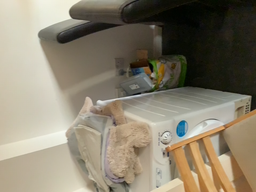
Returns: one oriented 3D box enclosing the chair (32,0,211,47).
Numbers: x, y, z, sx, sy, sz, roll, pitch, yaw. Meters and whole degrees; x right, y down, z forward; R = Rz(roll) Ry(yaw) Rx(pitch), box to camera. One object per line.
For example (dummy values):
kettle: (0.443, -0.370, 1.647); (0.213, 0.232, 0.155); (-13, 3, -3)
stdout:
chair: (0.000, -0.700, 1.380); (0.500, 1.080, 0.690); (24, 118, 51)
